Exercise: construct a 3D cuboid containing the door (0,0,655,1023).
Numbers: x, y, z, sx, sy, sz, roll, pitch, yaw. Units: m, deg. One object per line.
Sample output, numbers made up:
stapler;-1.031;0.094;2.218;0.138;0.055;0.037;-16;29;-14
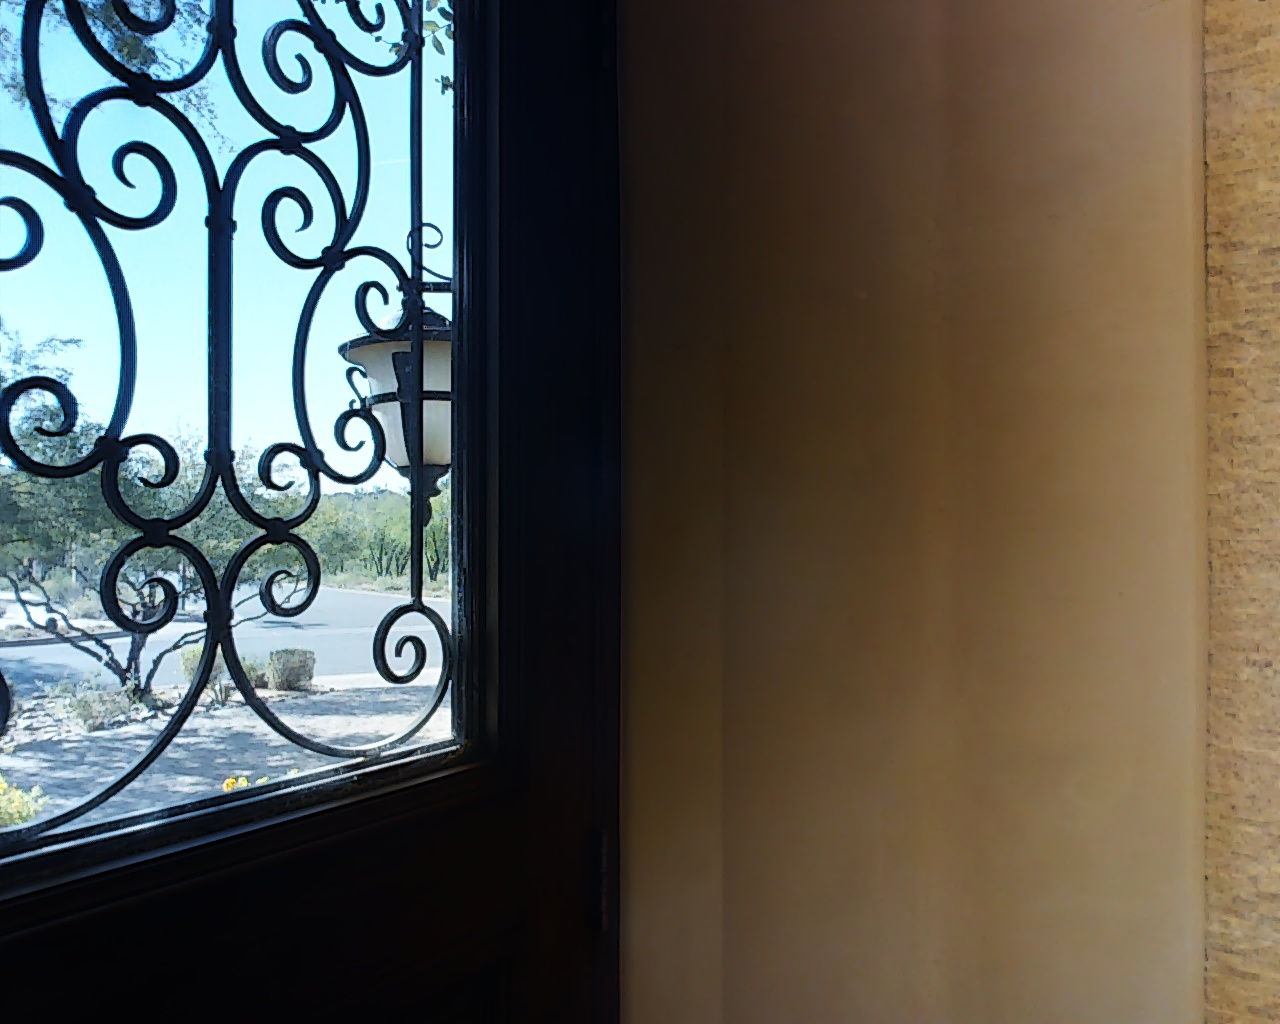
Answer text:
door;-0.430;0.000;1.210;0.130;3.140;1.420;0;0;34
